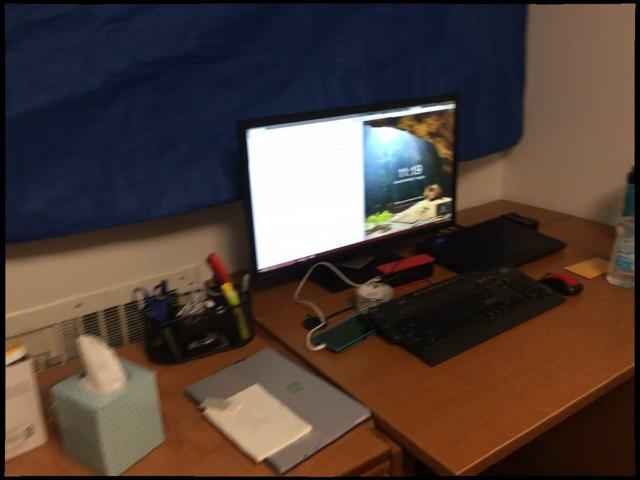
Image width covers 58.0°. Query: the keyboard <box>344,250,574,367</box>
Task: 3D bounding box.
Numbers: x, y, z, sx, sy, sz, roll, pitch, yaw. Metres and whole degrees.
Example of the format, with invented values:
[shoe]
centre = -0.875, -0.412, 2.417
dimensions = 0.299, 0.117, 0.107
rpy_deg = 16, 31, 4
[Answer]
[keyboard]
centre = 0.339, 0.140, 1.380
dimensions = 0.509, 0.060, 0.260
rpy_deg = -13, 24, -33
